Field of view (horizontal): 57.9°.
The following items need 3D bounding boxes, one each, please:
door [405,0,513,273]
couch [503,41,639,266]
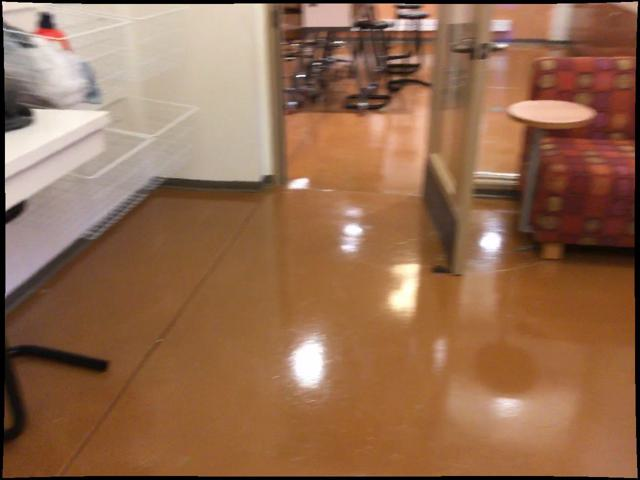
[{"bbox_3d":[0.569,-0.721,2.570,0.150,1.441,0.950,-3,28,-2],"label":"door"},{"bbox_3d":[1.309,-0.440,2.670,0.729,0.781,0.850,4,28,10],"label":"couch"}]
